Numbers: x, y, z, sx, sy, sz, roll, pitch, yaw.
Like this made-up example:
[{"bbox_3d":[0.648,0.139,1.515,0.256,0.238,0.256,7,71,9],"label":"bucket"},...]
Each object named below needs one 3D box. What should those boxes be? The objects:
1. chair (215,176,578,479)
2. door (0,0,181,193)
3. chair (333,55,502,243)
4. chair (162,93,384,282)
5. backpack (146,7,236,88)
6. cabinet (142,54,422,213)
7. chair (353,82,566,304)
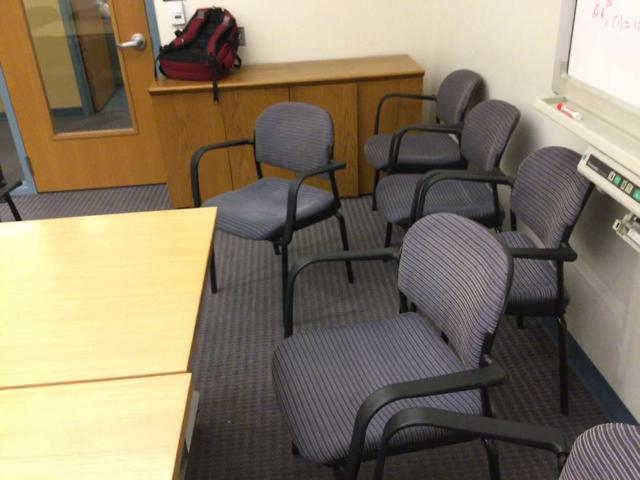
[{"bbox_3d":[0.130,0.340,1.490,0.620,0.770,0.570,-11,31,-18],"label":"chair"},{"bbox_3d":[-1.450,-1.080,3.380,1.050,1.630,0.170,-3,29,-6],"label":"door"},{"bbox_3d":[0.440,-0.490,2.990,0.660,0.760,0.640,-3,29,-6],"label":"chair"},{"bbox_3d":[-0.170,-0.260,2.390,0.610,0.470,0.630,19,34,29],"label":"chair"},{"bbox_3d":[-0.700,-1.090,3.240,0.420,0.340,0.460,-3,29,-6],"label":"backpack"},{"bbox_3d":[-0.220,-0.670,3.540,1.510,0.770,0.540,-3,29,-6],"label":"cabinet"},{"bbox_3d":[0.520,-0.230,2.480,0.640,0.710,0.660,-3,29,-6],"label":"chair"}]
